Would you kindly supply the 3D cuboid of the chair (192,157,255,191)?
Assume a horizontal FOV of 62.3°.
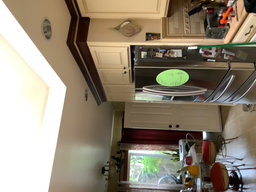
[{"bbox_3d":[1.450,1.240,3.310,0.460,0.760,0.440,86,-173,-66],"label":"chair"}]
